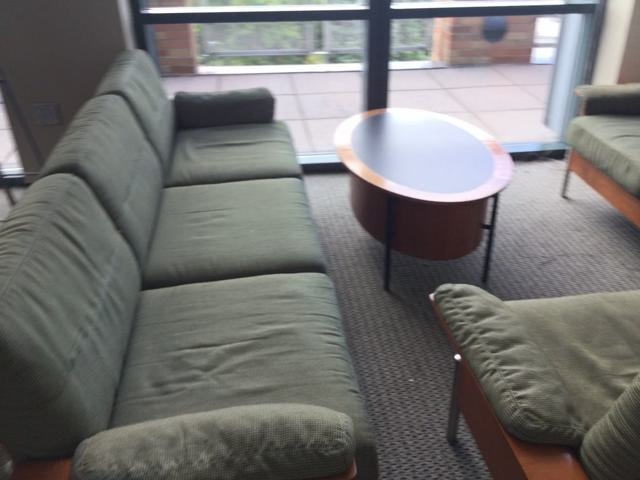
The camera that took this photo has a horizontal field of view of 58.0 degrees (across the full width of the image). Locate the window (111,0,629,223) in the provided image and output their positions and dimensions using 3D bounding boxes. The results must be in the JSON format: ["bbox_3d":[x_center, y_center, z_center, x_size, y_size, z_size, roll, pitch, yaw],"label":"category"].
[{"bbox_3d":[0.210,-1.570,2.510,2.300,2.810,0.390,-7,25,-3],"label":"window"}]

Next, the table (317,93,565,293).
[{"bbox_3d":[0.410,-0.270,2.440,0.710,0.370,1.080,-7,28,-3],"label":"table"}]
